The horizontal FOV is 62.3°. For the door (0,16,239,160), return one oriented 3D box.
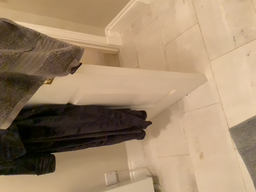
[{"bbox_3d":[-0.520,0.080,0.860,0.930,2.080,0.190,-37,62,47],"label":"door"}]

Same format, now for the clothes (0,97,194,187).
[{"bbox_3d":[-0.450,0.240,0.970,0.580,1.580,0.250,-35,63,47],"label":"clothes"}]
